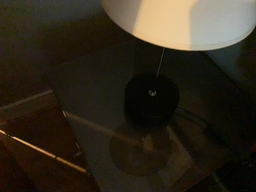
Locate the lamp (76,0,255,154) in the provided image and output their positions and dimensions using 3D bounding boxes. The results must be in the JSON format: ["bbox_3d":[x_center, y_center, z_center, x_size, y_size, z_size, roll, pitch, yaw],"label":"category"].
[{"bbox_3d":[0.080,-0.130,0.420,0.280,0.480,0.230,-25,62,-20],"label":"lamp"}]
